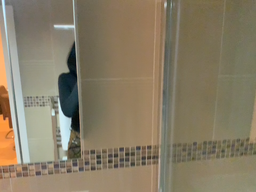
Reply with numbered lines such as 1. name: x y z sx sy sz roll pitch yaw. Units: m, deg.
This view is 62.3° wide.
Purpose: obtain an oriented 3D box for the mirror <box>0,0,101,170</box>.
1. mirror: -0.480 -0.070 0.760 0.740 0.720 0.030 -2 13 -11
